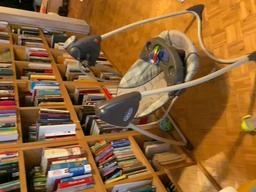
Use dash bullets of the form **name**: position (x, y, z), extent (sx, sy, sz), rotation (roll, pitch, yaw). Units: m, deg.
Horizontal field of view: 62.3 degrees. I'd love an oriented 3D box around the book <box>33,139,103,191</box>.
- **book**: position (-0.400, 0.500, 1.360), extent (0.330, 0.330, 0.250), rotation (51, 132, 45)
